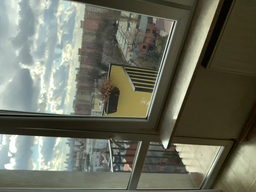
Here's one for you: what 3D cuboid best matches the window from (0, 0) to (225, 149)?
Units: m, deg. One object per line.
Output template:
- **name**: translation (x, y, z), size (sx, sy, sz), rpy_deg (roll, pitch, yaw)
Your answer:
- **window**: translation (-0.330, -0.570, 1.200), size (0.240, 1.760, 1.940), rpy_deg (-111, 30, -62)
